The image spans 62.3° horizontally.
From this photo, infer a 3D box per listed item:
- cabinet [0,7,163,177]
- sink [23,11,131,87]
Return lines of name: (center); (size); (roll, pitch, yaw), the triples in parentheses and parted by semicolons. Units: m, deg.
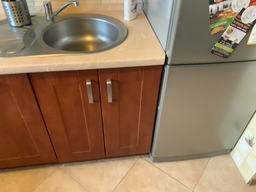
cabinet: (-0.510, -0.010, 1.360); (1.230, 0.870, 0.590); (-4, 43, -7)
sink: (-0.250, -0.280, 1.150); (0.460, 0.180, 0.460); (-4, 43, -7)
